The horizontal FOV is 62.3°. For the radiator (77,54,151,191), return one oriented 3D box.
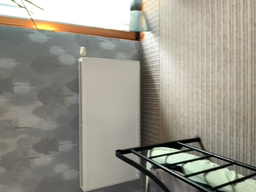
[{"bbox_3d":[-0.120,0.250,2.130,0.130,0.750,1.260,6,96,61],"label":"radiator"}]
